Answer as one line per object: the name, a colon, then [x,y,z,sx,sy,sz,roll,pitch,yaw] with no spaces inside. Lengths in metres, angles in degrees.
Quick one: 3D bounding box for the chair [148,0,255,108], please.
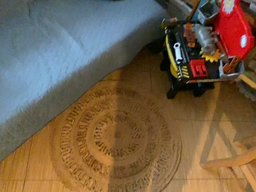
chair: [0.490,-0.310,1.420,0.430,0.620,0.460,-18,68,-17]
